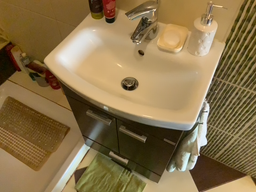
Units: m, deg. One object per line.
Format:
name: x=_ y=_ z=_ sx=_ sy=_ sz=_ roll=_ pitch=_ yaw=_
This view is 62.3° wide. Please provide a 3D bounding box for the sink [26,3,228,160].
sink: x=0.010 y=-0.090 z=0.730 sx=0.530 sy=0.130 sz=0.380 roll=24 pitch=59 yaw=15
